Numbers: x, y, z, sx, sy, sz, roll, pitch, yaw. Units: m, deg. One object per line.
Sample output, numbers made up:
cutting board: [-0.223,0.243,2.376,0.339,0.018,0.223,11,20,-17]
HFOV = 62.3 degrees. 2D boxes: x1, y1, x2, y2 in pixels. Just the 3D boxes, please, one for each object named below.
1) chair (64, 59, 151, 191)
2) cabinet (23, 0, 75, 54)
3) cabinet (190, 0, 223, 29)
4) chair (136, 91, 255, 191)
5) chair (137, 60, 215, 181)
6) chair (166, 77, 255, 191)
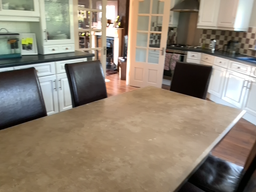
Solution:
chair: [-0.190,0.230,1.900,0.550,1.000,0.450,18,24,37]
cabinet: [-1.040,-1.220,2.790,0.340,1.240,0.530,18,24,36]
cabinet: [1.650,-1.860,4.410,0.460,0.860,0.370,17,24,35]
chair: [0.370,0.550,1.080,0.550,0.990,0.380,17,24,35]
chair: [0.480,0.190,2.150,0.410,0.980,0.680,16,23,34]
chair: [0.630,0.450,1.410,0.550,1.000,0.450,16,23,33]
